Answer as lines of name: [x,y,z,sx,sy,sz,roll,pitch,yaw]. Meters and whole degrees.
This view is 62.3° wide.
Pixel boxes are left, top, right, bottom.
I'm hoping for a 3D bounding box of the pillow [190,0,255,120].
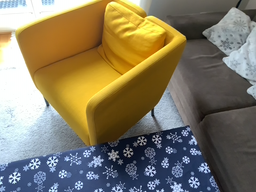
pillow: [0.920,-0.200,1.470,0.330,0.320,1.280,-11,55,-15]
